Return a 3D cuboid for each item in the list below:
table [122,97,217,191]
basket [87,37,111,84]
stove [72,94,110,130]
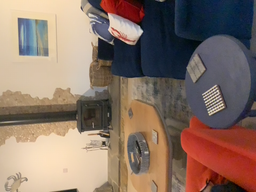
[{"bbox_3d":[0.340,0.530,2.190,0.980,0.510,0.970,-170,80,-69],"label":"table"},{"bbox_3d":[-0.570,-0.650,4.040,0.500,0.350,0.830,-164,74,-69],"label":"basket"},{"bbox_3d":[-0.740,0.300,4.180,0.430,0.650,0.610,-161,71,-68],"label":"stove"}]
